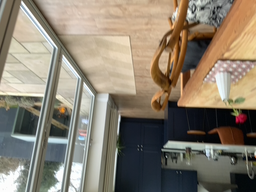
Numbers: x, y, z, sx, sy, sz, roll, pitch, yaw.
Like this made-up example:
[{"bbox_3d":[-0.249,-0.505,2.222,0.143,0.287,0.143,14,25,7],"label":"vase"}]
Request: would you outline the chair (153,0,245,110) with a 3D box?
[{"bbox_3d":[0.470,-0.380,1.620,0.530,0.870,0.470,1,163,7],"label":"chair"}]
